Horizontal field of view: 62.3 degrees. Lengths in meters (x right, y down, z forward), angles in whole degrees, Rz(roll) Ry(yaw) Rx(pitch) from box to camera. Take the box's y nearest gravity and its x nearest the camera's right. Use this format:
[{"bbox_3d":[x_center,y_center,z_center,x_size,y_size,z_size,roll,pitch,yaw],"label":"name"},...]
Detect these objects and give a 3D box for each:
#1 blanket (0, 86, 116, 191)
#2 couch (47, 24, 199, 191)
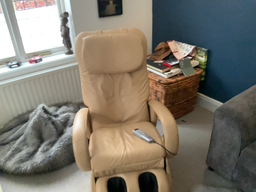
[{"bbox_3d":[-0.800,0.340,2.210,1.120,0.350,0.720,-22,35,-31],"label":"blanket"},{"bbox_3d":[-0.080,0.110,1.780,0.730,1.130,1.150,-7,29,-7],"label":"couch"}]
